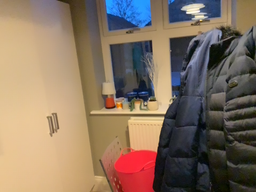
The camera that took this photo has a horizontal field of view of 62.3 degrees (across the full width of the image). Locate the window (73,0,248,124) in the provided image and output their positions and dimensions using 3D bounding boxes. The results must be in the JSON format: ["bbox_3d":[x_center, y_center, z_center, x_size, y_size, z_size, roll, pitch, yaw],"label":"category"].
[{"bbox_3d":[0.290,-0.580,2.090,1.460,1.620,0.480,-1,14,15],"label":"window"}]

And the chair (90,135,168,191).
[{"bbox_3d":[0.050,0.820,1.900,0.520,0.780,0.460,0,14,20],"label":"chair"}]
